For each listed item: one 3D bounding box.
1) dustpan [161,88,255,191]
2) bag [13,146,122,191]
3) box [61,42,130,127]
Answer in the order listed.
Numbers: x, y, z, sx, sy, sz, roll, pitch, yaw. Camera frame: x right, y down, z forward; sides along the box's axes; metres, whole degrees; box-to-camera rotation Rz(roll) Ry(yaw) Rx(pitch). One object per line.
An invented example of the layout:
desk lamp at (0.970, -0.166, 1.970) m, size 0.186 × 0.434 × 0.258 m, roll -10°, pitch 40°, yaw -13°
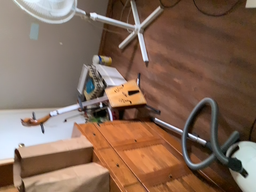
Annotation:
dustpan at (0.630, 0.360, 1.260) m, size 0.940 × 0.200 × 0.380 m, roll 46°, pitch 126°, yaw 41°
bag at (-0.360, 0.580, 1.190) m, size 0.380 × 0.440 × 0.370 m, roll 38°, pitch 120°, yaw 45°
box at (-0.420, -0.150, 2.450) m, size 0.720 × 0.380 × 0.660 m, roll 46°, pitch 125°, yaw 41°
